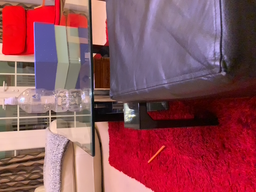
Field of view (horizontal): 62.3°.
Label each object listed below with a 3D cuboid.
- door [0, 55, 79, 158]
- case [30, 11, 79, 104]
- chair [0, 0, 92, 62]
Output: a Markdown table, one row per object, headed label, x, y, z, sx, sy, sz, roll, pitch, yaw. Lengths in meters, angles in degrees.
| label | x | y | z | sx | sy | sz | roll | pitch | yaw |
| --- | --- | --- | --- | --- | --- | --- | --- | --- | --- |
| door | -1.670 | 0.120 | 2.750 | 0.060 | 1.990 | 1.330 | 158 | 109 | -66 |
| case | -0.340 | -0.150 | 0.950 | 0.330 | 0.170 | 0.250 | 126 | 137 | -55 |
| chair | -1.000 | -0.860 | 2.480 | 0.820 | 0.960 | 0.690 | 167 | 102 | -67 |
